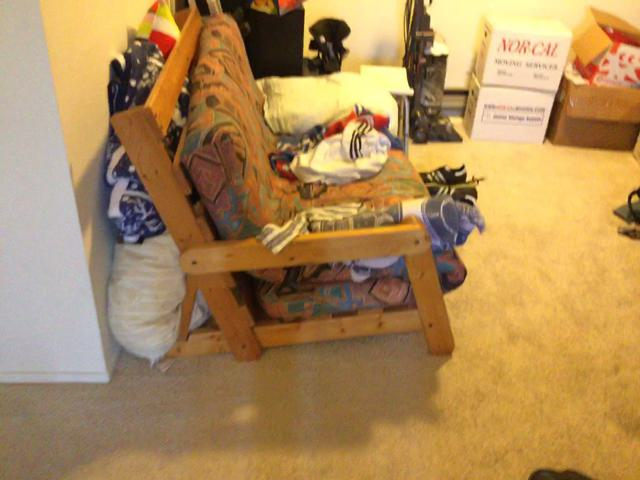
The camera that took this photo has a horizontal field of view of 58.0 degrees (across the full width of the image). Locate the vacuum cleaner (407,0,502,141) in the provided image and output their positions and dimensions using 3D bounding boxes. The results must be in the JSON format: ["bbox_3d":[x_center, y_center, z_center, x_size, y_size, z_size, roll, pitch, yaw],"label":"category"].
[{"bbox_3d":[0.760,-1.150,3.340,0.430,1.060,0.400,0,30,3],"label":"vacuum cleaner"}]
